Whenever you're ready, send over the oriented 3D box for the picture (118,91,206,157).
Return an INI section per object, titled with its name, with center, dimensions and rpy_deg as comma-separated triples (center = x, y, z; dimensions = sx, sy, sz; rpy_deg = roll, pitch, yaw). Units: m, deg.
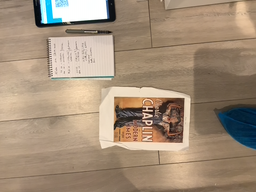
[picture]
center = 0.110, 0.090, 0.700
dimensions = 0.280, 0.040, 0.210
rpy_deg = -1, 93, -1
